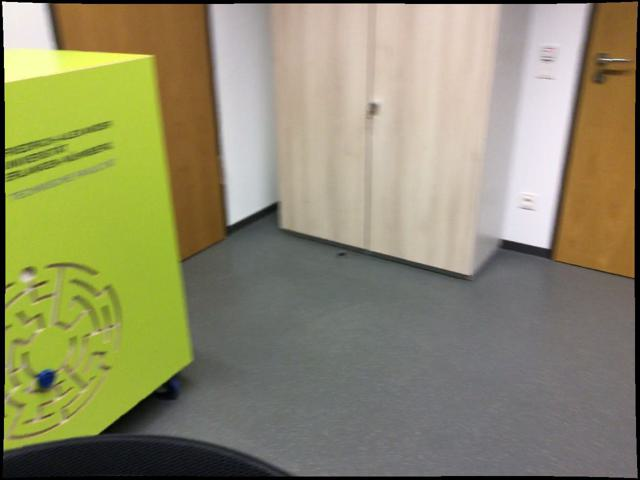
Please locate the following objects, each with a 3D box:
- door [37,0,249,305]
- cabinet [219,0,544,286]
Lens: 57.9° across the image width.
[{"bbox_3d":[-0.779,-0.831,2.640,0.190,2.102,0.850,13,28,33],"label":"door"},{"bbox_3d":[0.260,-1.071,2.860,1.459,2.242,0.620,15,31,32],"label":"cabinet"}]
